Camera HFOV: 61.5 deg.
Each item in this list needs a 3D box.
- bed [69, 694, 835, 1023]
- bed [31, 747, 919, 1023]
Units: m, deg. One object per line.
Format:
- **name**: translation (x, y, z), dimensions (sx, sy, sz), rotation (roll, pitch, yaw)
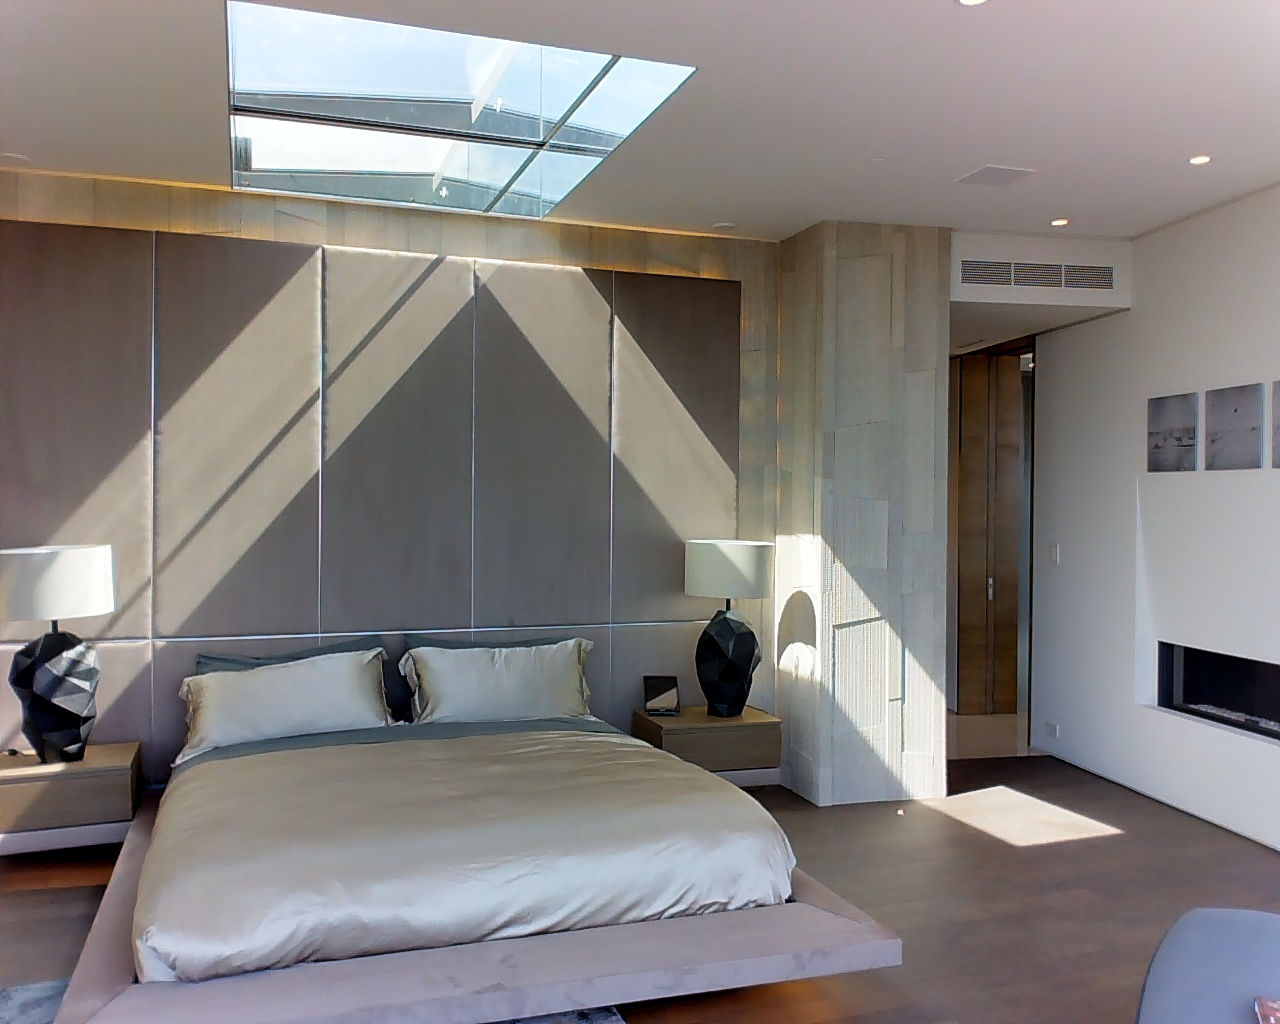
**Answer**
- **bed**: translation (-0.780, 1.210, 4.120), dimensions (2.210, 0.540, 2.160), rotation (0, 0, -20)
- **bed**: translation (-0.700, 1.340, 3.950), dimensions (2.380, 0.270, 2.410), rotation (0, 0, -21)
